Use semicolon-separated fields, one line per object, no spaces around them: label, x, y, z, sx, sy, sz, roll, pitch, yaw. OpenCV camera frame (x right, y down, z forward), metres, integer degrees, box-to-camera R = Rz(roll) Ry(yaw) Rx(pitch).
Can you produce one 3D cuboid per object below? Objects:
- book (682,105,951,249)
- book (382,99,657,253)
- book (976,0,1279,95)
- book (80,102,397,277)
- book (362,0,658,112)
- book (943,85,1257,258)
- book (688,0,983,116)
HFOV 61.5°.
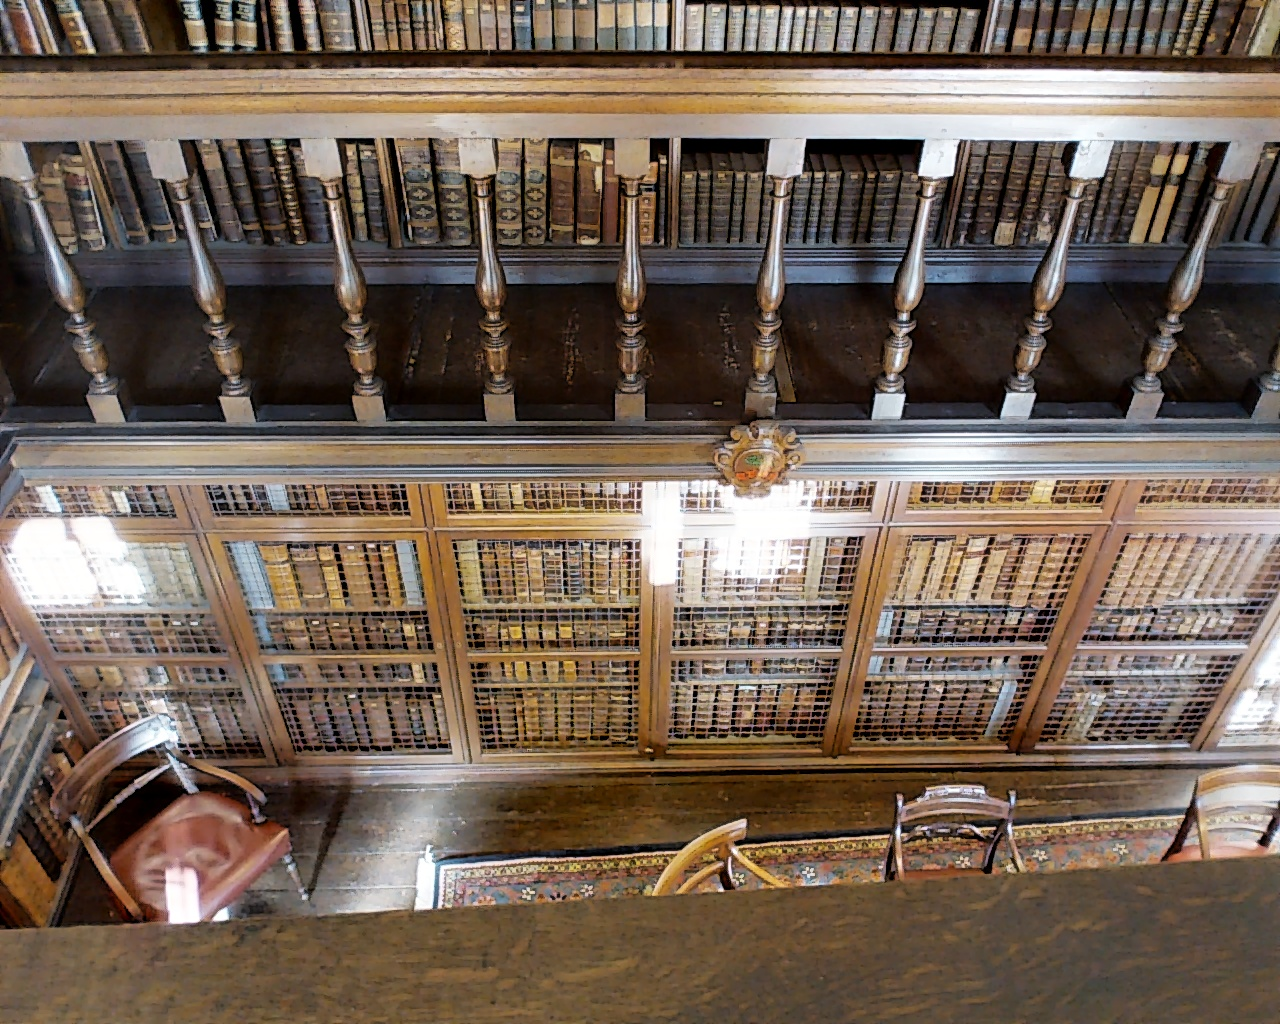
book;0.480;-0.940;3.040;0.700;0.380;0.100;0;42;-2
book;-0.320;-0.930;3.000;0.720;0.390;0.130;0;42;-2
book;1.280;-1.250;2.810;0.720;0.270;0.130;-1;42;-2
book;-1.090;-0.890;3.000;0.740;0.460;0.110;0;42;-1
book;-0.320;-1.200;2.750;0.720;0.310;0.110;0;42;-2
book;1.280;-0.960;3.060;0.720;0.450;0.140;0;42;-2
book;0.490;-1.210;2.800;0.710;0.300;0.150;0;42;-2
